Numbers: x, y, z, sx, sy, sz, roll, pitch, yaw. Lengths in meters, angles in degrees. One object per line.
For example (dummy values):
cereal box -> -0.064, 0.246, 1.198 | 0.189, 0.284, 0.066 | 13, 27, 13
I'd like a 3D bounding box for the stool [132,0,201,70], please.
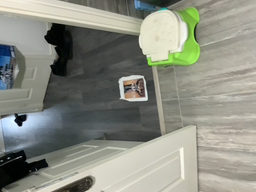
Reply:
stool -> 0.230, -0.350, 1.320 | 0.360, 0.190, 0.340 | 0, 96, 44
